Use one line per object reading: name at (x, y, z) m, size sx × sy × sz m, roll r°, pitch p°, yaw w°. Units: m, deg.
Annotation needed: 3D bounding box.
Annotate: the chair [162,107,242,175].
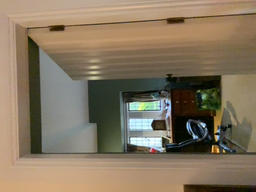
chair at (1.090, 0.720, 3.430) m, size 0.760 × 1.020 × 0.740 m, roll -83°, pitch -10°, yaw -55°
